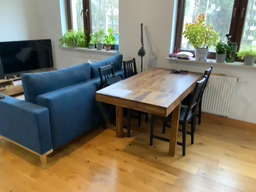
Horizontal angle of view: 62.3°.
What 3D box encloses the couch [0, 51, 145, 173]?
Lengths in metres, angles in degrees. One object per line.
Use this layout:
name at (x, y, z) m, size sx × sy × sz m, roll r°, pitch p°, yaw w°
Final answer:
couch at (-0.710, -0.040, 3.180) m, size 0.990 × 0.910 × 2.230 m, roll 13°, pitch 23°, yaw 29°
